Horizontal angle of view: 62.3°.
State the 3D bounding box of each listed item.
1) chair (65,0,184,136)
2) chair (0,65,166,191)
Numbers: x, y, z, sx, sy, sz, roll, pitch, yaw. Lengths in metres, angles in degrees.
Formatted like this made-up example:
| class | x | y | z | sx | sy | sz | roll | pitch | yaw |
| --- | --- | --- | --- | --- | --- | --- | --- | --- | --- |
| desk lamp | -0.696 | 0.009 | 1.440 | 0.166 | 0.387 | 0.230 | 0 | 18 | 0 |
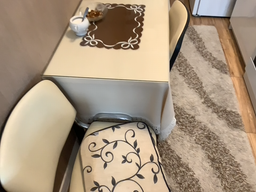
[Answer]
| class | x | y | z | sx | sy | sz | roll | pitch | yaw |
| --- | --- | --- | --- | --- | --- | --- | --- | --- | --- |
| chair | 0.010 | -0.170 | 1.470 | 0.570 | 0.800 | 0.500 | 4 | 50 | 5 |
| chair | -0.150 | 0.340 | 1.040 | 0.570 | 0.810 | 0.500 | 4 | 50 | 5 |
